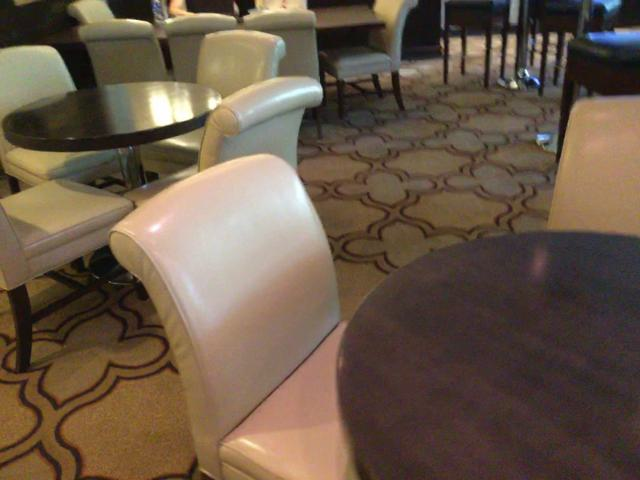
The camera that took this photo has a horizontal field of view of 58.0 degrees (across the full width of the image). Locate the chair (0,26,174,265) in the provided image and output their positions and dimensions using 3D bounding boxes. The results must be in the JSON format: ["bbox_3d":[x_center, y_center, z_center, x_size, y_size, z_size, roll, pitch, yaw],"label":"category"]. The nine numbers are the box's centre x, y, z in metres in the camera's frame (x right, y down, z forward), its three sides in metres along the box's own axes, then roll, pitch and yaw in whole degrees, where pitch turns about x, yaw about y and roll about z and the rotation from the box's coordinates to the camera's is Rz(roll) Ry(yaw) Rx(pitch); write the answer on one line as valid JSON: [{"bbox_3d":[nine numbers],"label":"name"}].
[{"bbox_3d":[-1.340,-0.530,2.980,0.840,0.950,0.610,19,35,34],"label":"chair"}]

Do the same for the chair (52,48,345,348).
[{"bbox_3d":[-0.460,-0.230,2.380,0.970,0.920,0.540,17,34,31],"label":"chair"}]

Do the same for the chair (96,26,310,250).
[{"bbox_3d":[-0.550,-0.580,3.040,0.650,0.900,0.760,14,33,28],"label":"chair"}]

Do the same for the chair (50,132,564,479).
[{"bbox_3d":[0.010,0.340,1.280,0.760,0.930,0.560,14,33,28],"label":"chair"}]

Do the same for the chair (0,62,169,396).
[{"bbox_3d":[-1.140,-0.100,2.190,0.590,0.930,0.770,14,33,28],"label":"chair"}]
